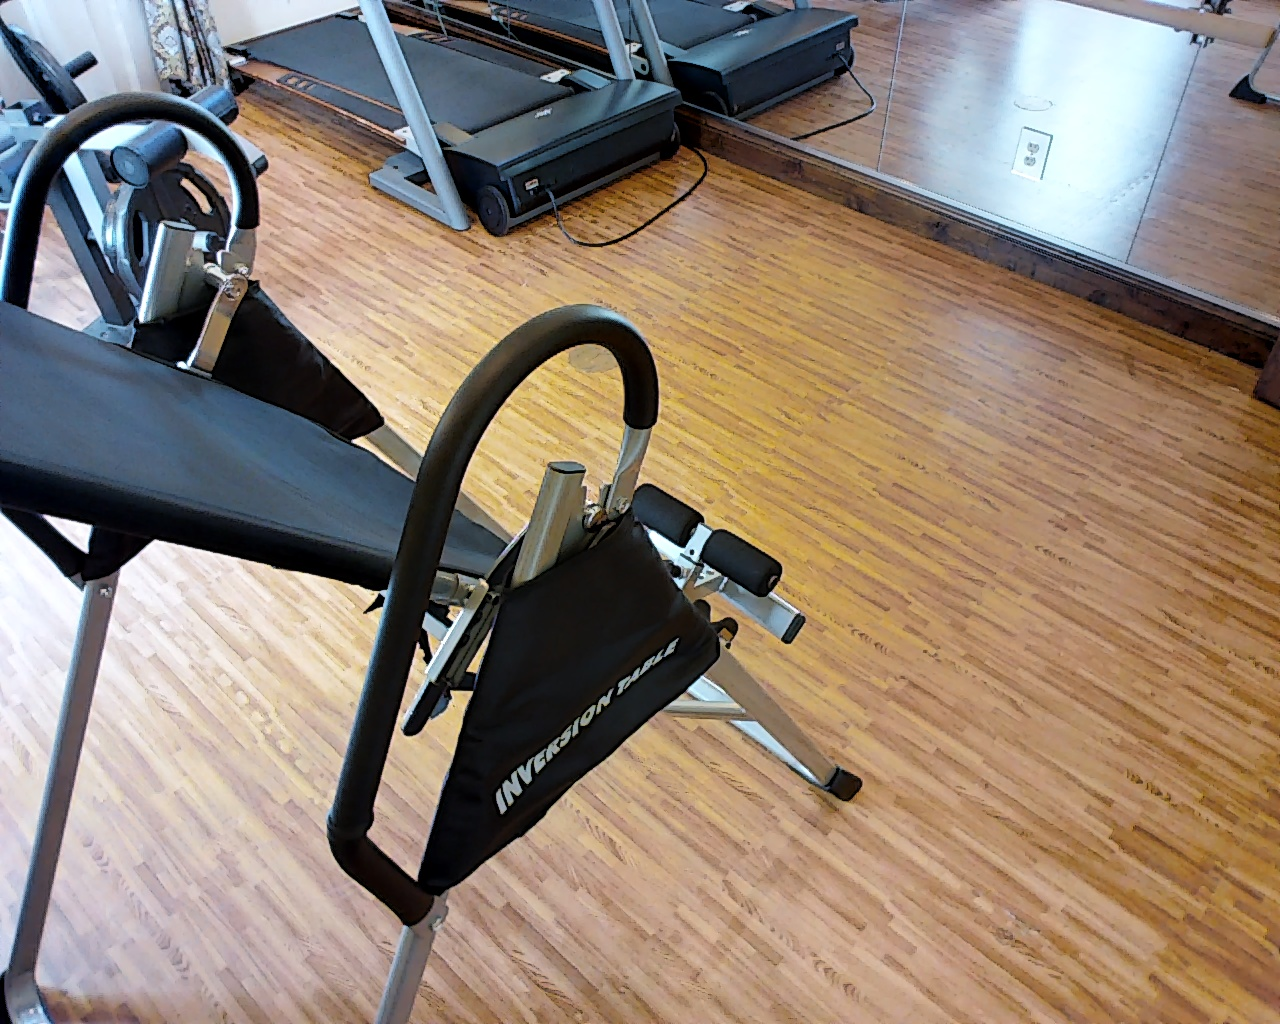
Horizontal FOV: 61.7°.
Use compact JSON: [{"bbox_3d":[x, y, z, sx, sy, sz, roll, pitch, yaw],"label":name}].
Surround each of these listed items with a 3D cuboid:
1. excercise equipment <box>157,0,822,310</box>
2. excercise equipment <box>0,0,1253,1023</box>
[{"bbox_3d":[-0.620,-1.890,3.410,2.240,1.480,1.020,33,51,31],"label":"excercise equipment"},{"bbox_3d":[-0.230,0.050,1.230,0.910,1.540,1.380,32,51,31],"label":"excercise equipment"}]
